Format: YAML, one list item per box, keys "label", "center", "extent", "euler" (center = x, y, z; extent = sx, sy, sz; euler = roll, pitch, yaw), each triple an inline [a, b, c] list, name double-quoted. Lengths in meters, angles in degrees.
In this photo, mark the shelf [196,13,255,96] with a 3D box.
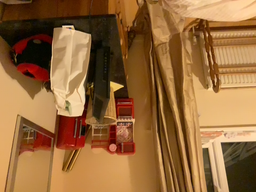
- label: "shelf"
  center: [1.030, -0.380, 1.880]
  extent: [0.710, 0.700, 0.190]
  euler: [-4, 159, 6]
